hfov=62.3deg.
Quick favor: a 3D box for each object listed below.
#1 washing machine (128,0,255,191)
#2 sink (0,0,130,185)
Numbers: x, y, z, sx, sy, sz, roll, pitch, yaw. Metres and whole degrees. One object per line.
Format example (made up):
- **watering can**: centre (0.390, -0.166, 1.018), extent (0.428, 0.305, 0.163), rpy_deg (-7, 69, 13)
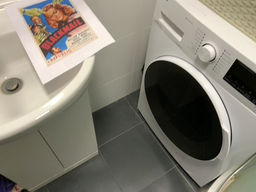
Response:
- **washing machine**: centre (0.410, 0.000, 0.990), extent (0.520, 0.850, 0.620), rpy_deg (-25, 61, -19)
- **sink**: centre (-0.320, -0.030, 0.550), extent (0.490, 0.160, 0.420), rpy_deg (-26, 62, -20)
